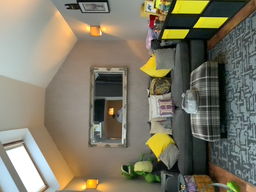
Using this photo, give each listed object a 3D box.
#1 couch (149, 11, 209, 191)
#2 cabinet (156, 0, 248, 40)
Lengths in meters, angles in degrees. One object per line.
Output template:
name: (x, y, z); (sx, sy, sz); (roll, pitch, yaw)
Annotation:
couch: (0.810, 0.140, 3.760); (1.190, 0.730, 2.820); (97, 174, -85)
cabinet: (0.810, -1.130, 2.480); (1.470, 0.770, 0.410); (96, 175, -84)
